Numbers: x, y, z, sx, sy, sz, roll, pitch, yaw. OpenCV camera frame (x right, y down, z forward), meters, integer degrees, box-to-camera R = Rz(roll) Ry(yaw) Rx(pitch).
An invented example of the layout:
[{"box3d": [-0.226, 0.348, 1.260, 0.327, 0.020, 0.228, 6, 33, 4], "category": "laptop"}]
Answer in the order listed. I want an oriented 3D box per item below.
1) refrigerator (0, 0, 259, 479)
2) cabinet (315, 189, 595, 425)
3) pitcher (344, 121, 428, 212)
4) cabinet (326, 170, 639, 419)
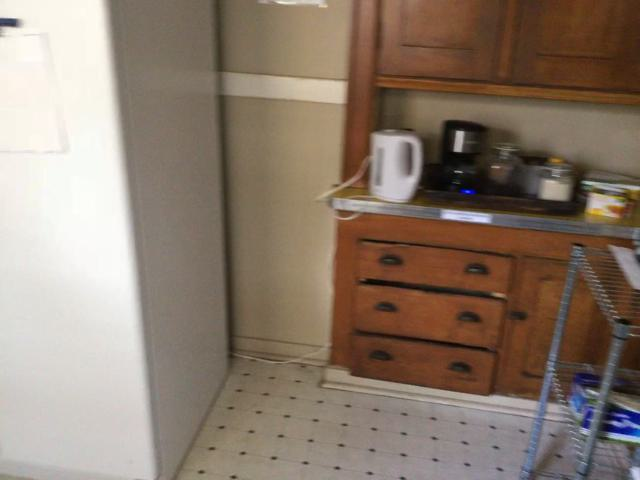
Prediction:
[{"box3d": [-0.800, -0.150, 1.910, 0.950, 1.740, 0.960, 7, 23, 8], "category": "refrigerator"}, {"box3d": [0.470, 0.260, 2.260, 0.920, 0.800, 0.210, 7, 23, 8], "category": "cabinet"}, {"box3d": [0.240, -0.270, 2.100, 0.270, 0.270, 0.160, 7, 23, 8], "category": "pitcher"}, {"box3d": [0.620, 0.190, 2.350, 1.090, 0.740, 0.460, 7, 23, 8], "category": "cabinet"}]
